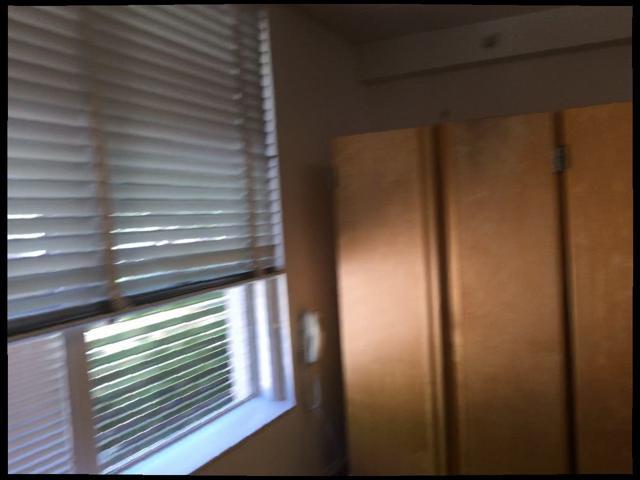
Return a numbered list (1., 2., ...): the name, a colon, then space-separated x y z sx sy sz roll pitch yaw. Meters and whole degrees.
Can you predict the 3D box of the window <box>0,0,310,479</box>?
1. window: -0.609 -0.040 1.460 0.250 1.513 1.859 -2 4 26
